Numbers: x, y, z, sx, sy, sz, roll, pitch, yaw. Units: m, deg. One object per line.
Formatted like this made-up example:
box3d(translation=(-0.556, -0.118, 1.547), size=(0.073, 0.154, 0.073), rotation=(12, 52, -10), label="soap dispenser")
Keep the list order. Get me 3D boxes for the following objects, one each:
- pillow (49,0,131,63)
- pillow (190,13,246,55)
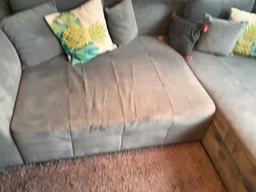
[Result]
box3d(translation=(-0.280, -0.520, 1.630), size=(0.530, 0.430, 0.190), rotation=(4, 13, -41), label="pillow")
box3d(translation=(0.750, -0.520, 1.800), size=(0.330, 0.270, 0.170), rotation=(3, 36, -10), label="pillow")
